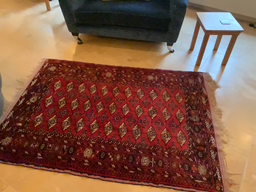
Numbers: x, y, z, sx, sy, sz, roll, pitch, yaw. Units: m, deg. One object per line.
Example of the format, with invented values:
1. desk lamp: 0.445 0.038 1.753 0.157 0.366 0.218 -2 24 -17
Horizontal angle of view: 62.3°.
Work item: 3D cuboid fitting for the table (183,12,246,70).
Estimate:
1. table: 0.850 -0.570 2.180 0.370 0.420 0.370 -7 46 -8
